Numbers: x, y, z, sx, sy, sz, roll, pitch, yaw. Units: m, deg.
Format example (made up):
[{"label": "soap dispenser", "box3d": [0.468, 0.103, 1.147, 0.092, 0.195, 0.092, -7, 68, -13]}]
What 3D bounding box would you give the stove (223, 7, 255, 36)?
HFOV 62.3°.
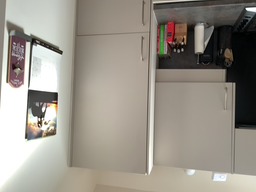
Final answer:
[{"label": "stove", "box3d": [1.090, -0.590, 1.700, 0.520, 0.060, 0.490, 2, 179, 14]}]
